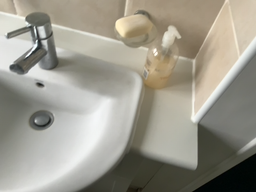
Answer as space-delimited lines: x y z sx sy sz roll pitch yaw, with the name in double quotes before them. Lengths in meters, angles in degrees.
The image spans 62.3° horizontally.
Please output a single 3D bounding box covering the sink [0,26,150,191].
"sink" -0.250 0.070 0.550 0.520 0.210 0.420 15 53 1
